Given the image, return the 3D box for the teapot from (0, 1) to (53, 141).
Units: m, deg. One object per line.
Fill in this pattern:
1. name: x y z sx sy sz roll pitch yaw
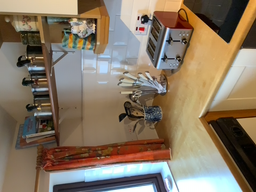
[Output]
1. teapot: -0.610 -0.090 1.320 0.240 0.180 0.880 -107 20 -45

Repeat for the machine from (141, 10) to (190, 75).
1. machine: 0.220 -0.340 1.360 0.270 0.160 0.310 -107 20 -45
